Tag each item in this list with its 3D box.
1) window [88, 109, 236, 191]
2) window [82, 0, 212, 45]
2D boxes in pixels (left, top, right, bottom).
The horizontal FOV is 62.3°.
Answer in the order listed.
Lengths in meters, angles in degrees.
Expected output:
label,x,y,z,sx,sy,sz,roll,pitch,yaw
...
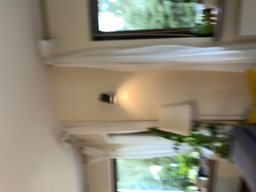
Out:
label,x,y,z,sx,sy,sz,roll,pitch,yaw
window,0.490,1.680,3.520,1.120,1.840,2.700,-70,-21,-75
window,0.180,-1.350,2.250,0.230,1.380,1.520,-77,-14,-69
